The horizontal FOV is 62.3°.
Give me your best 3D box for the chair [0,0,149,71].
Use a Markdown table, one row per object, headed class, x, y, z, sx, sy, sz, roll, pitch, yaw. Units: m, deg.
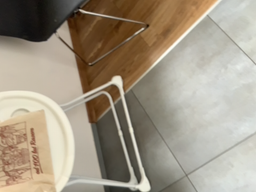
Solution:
| class | x | y | z | sx | sy | sz | roll | pitch | yaw |
| --- | --- | --- | --- | --- | --- | --- | --- | --- | --- |
| chair | -0.400 | -0.530 | 1.160 | 0.570 | 0.840 | 0.470 | -28 | 72 | 31 |
